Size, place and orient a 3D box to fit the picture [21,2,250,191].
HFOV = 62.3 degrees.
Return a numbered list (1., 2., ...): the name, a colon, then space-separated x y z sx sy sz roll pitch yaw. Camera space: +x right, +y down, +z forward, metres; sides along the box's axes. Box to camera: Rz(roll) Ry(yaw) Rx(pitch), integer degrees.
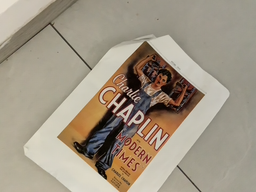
1. picture: 0.020 0.030 0.340 0.210 0.040 0.290 41 83 -1
